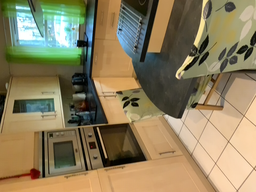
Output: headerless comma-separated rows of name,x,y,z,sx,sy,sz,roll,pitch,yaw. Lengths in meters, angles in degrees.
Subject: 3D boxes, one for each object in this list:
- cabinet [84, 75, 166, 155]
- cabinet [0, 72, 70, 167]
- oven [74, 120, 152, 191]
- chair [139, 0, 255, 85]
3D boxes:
cabinet,-0.130,0.220,3.300,1.110,0.880,0.600,-120,34,-49
cabinet,-1.390,0.200,3.170,1.710,0.800,0.310,-120,34,-49
oven,-0.230,0.740,2.490,0.630,0.690,0.600,-120,34,-49
chair,0.620,-0.390,1.260,0.520,0.920,0.420,-121,35,-50
